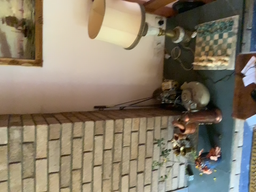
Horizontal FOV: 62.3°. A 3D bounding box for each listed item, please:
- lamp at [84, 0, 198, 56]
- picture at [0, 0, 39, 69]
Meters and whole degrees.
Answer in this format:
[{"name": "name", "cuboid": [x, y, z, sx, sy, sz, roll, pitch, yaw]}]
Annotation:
[{"name": "lamp", "cuboid": [0.100, -0.590, 1.770, 0.450, 0.810, 0.420, 16, 105, 60]}, {"name": "picture", "cuboid": [-0.840, -0.570, 1.540, 0.030, 0.360, 0.720, 10, 99, 60]}]
